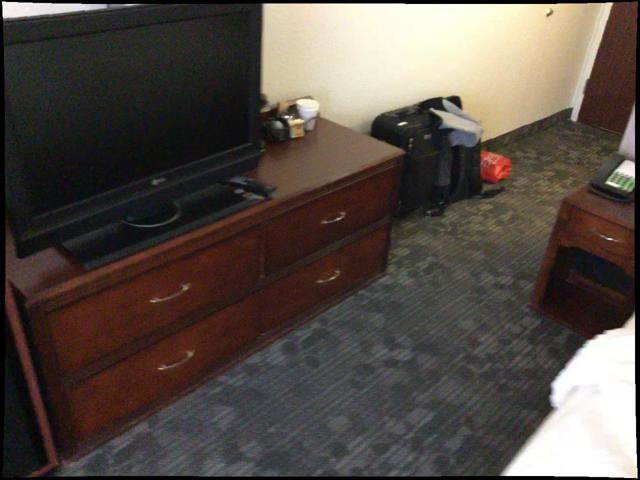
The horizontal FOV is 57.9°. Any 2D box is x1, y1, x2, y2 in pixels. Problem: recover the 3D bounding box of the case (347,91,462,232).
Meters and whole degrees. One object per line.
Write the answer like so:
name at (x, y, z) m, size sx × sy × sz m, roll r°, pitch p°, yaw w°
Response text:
case at (0.420, -0.410, 2.950) m, size 0.310 × 0.550 × 0.430 m, roll 30°, pitch 40°, yaw 34°
